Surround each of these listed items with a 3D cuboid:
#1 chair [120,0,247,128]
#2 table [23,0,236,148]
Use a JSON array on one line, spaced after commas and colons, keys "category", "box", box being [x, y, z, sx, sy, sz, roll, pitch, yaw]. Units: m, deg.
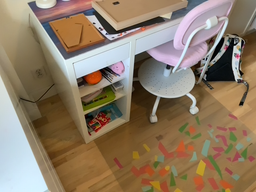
[{"category": "chair", "box": [0.280, -0.260, 1.480, 0.480, 0.750, 0.520, -20, 56, -19]}, {"category": "table", "box": [0.020, -0.290, 1.460, 1.040, 0.790, 0.550, -26, 58, -23]}]
